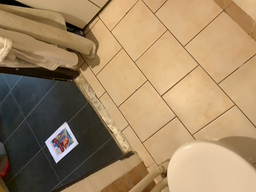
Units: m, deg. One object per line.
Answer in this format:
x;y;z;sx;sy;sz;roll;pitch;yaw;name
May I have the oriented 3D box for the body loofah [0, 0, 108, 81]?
-0.630;-0.290;1.050;0.280;1.440;0.230;-30;77;23;body loofah
